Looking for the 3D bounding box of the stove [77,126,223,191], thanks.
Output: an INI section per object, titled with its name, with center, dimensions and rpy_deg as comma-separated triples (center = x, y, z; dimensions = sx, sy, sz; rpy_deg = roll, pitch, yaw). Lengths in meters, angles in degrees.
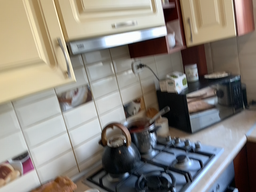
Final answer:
[stove]
center = 0.120, 0.350, 1.140
dimensions = 0.570, 0.090, 0.540
rpy_deg = -24, 18, -40
